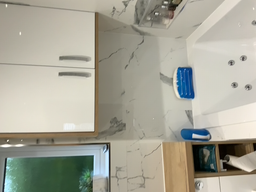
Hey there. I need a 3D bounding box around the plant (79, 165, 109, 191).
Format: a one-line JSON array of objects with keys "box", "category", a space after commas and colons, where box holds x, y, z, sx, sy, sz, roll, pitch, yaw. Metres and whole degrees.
[{"box": [-0.260, 0.620, 1.570, 0.230, 0.200, 0.180, 136, 134, -71], "category": "plant"}]

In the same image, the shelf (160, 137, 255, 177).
[{"box": [0.700, 0.410, 1.510, 0.370, 0.840, 0.210, 138, 131, -72], "category": "shelf"}]
